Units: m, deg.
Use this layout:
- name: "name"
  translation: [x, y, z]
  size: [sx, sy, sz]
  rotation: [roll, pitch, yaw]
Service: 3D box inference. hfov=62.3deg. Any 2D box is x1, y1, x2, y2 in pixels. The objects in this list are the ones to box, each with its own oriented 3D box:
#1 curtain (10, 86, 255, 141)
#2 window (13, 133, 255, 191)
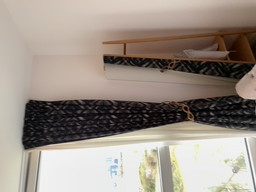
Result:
- name: "curtain"
  translation: [0.190, 0.170, 2.130]
  size: [0.260, 2.470, 0.430]
  rotation: [96, 172, -65]
- name: "window"
  translation: [0.180, 1.110, 2.210]
  size: [0.110, 2.670, 1.340]
  rotation: [98, 170, -69]
